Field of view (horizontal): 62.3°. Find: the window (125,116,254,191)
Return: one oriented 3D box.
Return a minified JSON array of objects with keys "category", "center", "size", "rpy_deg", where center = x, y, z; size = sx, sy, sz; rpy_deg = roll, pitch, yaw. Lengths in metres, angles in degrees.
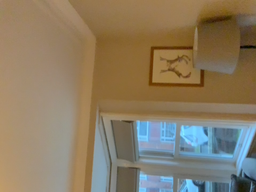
[{"category":"window","center":[0.740,1.530,2.890],"size":[0.930,1.460,2.400],"rpy_deg":[40,-128,-78]}]

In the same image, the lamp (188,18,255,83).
[{"category":"lamp","center":[1.430,-0.460,2.260],"size":[0.450,1.470,0.560],"rpy_deg":[40,-127,-78]}]
